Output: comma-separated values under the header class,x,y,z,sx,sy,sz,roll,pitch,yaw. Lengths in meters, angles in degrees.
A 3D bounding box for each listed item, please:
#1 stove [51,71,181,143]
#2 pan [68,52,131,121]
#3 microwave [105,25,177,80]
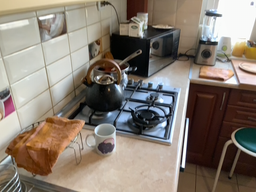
class,x,y,z,sx,sy,sz,roll,pitch,yaw
stove,-0.010,0.010,1.180,0.560,0.040,0.580,8,28,13
pan,-0.130,-0.070,1.140,0.240,0.240,0.320,6,28,8
microwave,0.130,-0.380,1.700,0.430,0.250,0.570,9,28,14
